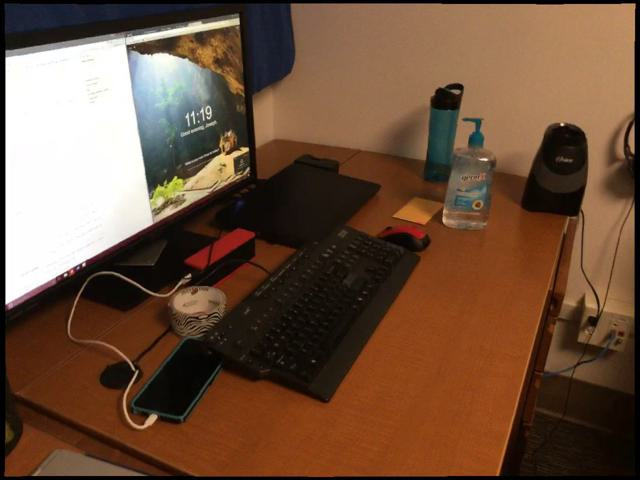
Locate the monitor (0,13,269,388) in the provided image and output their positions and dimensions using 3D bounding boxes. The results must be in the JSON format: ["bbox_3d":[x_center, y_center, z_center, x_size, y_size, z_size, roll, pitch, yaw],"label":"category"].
[{"bbox_3d":[-0.349,-0.130,0.970,0.270,0.421,0.580,13,28,22],"label":"monitor"}]
